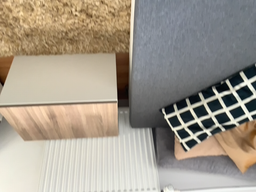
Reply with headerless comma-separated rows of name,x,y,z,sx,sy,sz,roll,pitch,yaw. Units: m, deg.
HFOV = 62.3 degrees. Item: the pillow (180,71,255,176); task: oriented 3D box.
pillow,0.620,0.180,1.180,0.470,0.330,0.570,-2,144,-4
